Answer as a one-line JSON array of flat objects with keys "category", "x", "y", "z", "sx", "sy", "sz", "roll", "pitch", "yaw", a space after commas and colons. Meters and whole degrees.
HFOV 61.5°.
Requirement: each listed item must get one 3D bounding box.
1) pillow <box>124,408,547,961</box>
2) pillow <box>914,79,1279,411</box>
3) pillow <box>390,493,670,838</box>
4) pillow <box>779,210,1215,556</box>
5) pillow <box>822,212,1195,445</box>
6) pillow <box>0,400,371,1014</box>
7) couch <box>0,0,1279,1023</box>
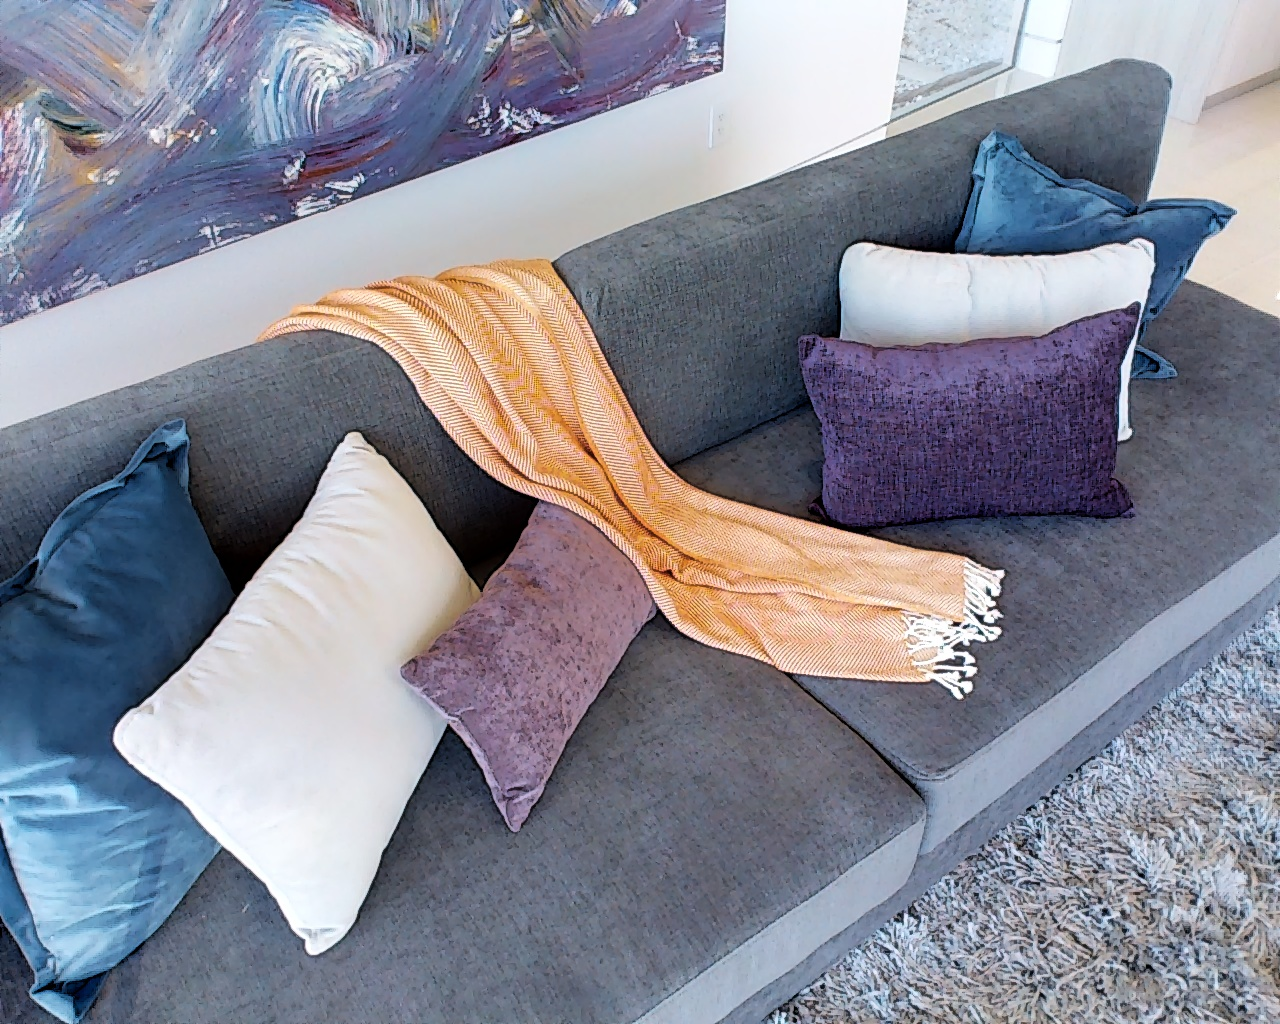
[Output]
[{"category": "pillow", "x": -0.330, "y": 0.170, "z": 1.300, "sx": 0.200, "sy": 0.350, "sz": 0.560, "roll": 18, "pitch": 34, "yaw": 9}, {"category": "pillow", "x": 0.830, "y": -0.490, "z": 2.000, "sx": 0.450, "sy": 0.460, "sz": 0.230, "roll": 13, "pitch": 30, "yaw": -6}, {"category": "pillow", "x": -0.130, "y": 0.180, "z": 1.400, "sx": 0.160, "sy": 0.270, "sz": 0.370, "roll": 26, "pitch": 24, "yaw": 8}, {"category": "pillow", "x": 0.540, "y": -0.200, "z": 1.700, "sx": 0.520, "sy": 0.350, "sz": 0.200, "roll": 18, "pitch": 24, "yaw": -9}, {"category": "pillow", "x": 0.610, "y": -0.320, "z": 1.880, "sx": 0.530, "sy": 0.320, "sz": 0.220, "roll": 2, "pitch": 42, "yaw": 2}, {"category": "pillow", "x": -0.610, "y": 0.200, "z": 1.200, "sx": 0.430, "sy": 0.410, "sz": 0.350, "roll": -26, "pitch": 48, "yaw": -26}, {"category": "couch", "x": 0.020, "y": 0.030, "z": 1.710, "sx": 3.040, "sy": 0.840, "sz": 1.250, "roll": -26, "pitch": 48, "yaw": -26}]
